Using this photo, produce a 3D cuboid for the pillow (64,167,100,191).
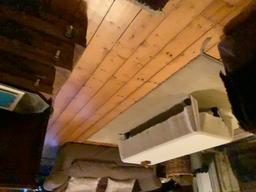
[{"bbox_3d":[-0.800,1.540,3.680,0.530,0.320,0.120,47,175,-15],"label":"pillow"}]
